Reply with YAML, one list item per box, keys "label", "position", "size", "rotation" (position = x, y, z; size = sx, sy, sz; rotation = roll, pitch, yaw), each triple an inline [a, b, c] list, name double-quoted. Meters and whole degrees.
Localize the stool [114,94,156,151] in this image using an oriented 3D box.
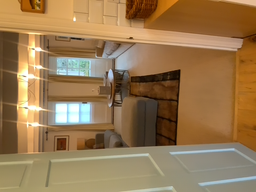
- label: "stool"
  position: [0.080, 0.430, 3.930]
  size: [0.980, 0.460, 0.870]
  rotation: [-166, 78, -73]
